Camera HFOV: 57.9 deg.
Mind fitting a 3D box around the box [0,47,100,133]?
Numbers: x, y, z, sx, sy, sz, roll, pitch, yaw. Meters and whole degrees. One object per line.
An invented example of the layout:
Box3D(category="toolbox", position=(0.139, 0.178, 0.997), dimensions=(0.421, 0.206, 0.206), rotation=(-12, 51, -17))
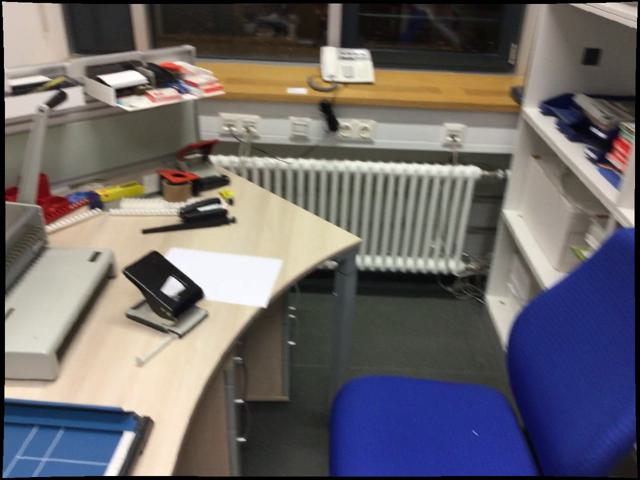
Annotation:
Box3D(category="box", position=(-0.809, -0.380, 1.480), dimensions=(0.390, 0.130, 0.220), rotation=(-24, 41, -37))

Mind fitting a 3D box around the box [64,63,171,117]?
Box3D(category="box", position=(-0.559, -0.420, 1.600), dimensions=(0.200, 0.060, 0.220), rotation=(-23, 40, -35))

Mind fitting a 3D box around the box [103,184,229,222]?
Box3D(category="box", position=(-0.440, -0.110, 1.680), dimensions=(0.330, 0.040, 0.130), rotation=(2, 31, -1))

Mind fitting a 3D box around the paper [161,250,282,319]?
Box3D(category="paper", position=(-0.220, 0.100, 1.360), dimensions=(0.260, 0.030, 0.230), rotation=(1, 32, -4))

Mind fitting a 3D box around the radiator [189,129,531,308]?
Box3D(category="radiator", position=(0.140, -0.080, 2.470), dimensions=(1.299, 0.670, 0.250), rotation=(2, 31, -1))
